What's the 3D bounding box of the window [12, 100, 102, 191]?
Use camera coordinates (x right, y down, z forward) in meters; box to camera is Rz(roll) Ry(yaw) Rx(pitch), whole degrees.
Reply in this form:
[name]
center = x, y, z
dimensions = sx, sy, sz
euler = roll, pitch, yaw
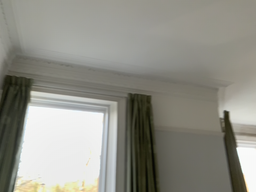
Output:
[window]
center = -0.720, 1.050, 2.100
dimensions = 0.780, 1.950, 0.300
euler = 8, -25, -18
